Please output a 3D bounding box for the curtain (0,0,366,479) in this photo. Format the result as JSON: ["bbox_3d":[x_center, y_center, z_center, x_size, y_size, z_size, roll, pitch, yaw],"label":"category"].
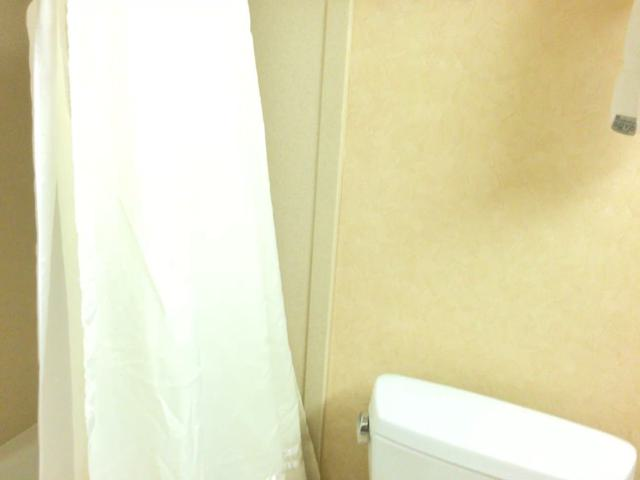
[{"bbox_3d":[-0.230,0.040,0.950,0.290,2.030,0.770,11,19,22],"label":"curtain"}]
